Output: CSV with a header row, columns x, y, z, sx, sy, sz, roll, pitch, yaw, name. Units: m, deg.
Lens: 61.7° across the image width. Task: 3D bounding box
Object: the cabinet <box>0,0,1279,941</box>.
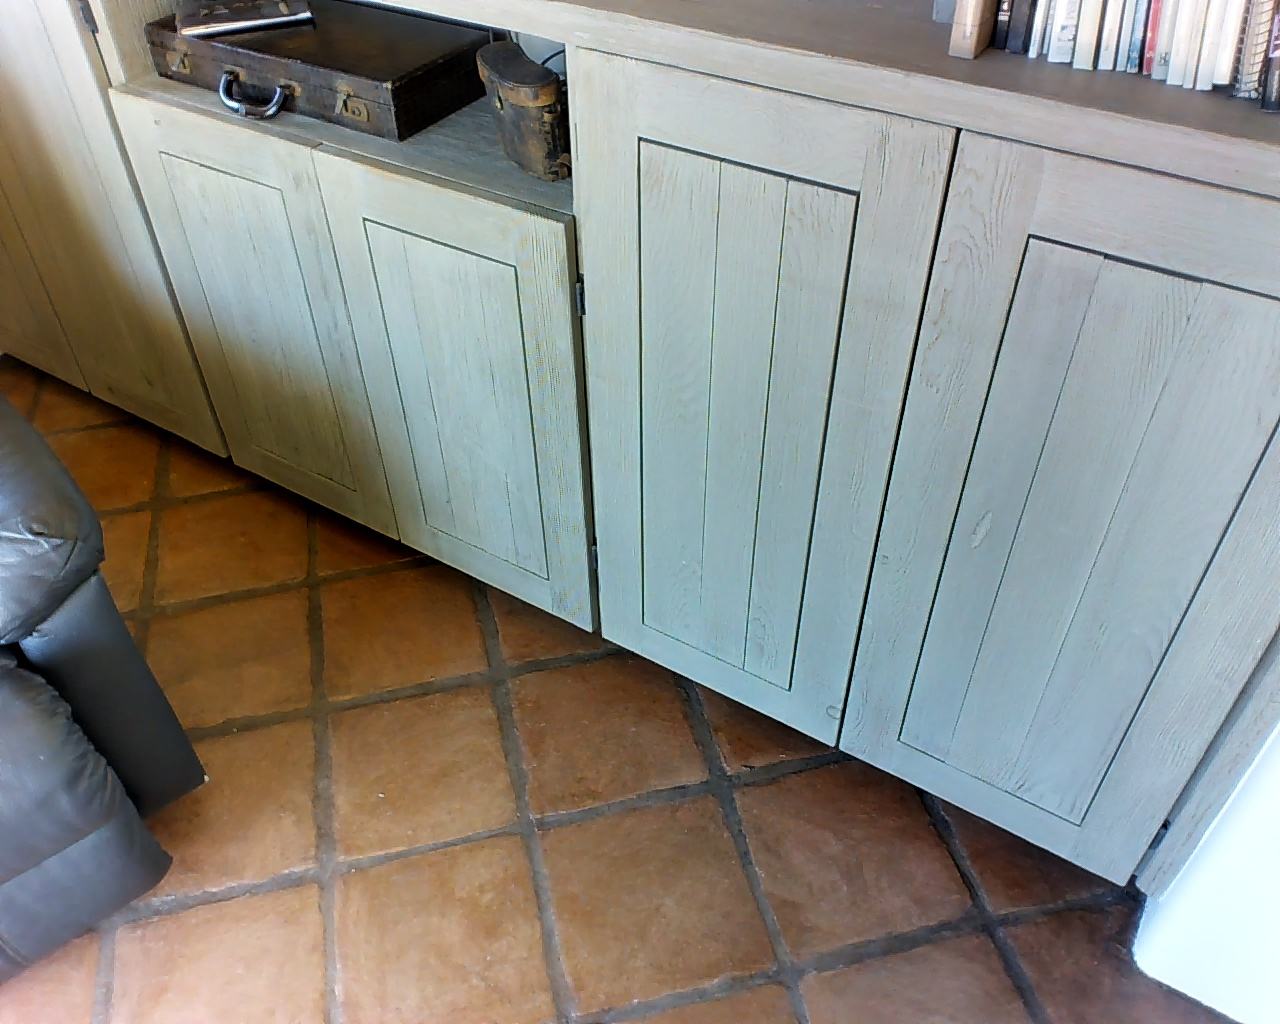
x,y,z,sx,sy,sz,roll,pitch,yaw,name
-0.370,-0.360,1.730,2.680,1.110,0.290,22,48,23,cabinet
